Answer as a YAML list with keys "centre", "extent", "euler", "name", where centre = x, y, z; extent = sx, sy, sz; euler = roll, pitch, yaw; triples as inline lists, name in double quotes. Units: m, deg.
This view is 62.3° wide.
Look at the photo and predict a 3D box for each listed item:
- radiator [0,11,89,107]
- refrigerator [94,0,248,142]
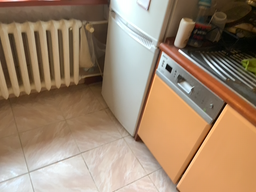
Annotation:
- centre: [-0.740, -0.290, 1.630]
  extent: [0.790, 0.620, 0.280]
  euler: [-12, 46, -27]
  name: "radiator"
- centre: [0.270, -0.610, 1.440]
  extent: [0.660, 1.880, 0.650]
  euler: [-14, 47, -29]
  name: "refrigerator"
